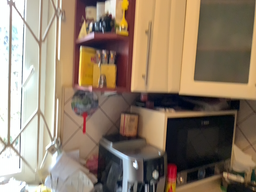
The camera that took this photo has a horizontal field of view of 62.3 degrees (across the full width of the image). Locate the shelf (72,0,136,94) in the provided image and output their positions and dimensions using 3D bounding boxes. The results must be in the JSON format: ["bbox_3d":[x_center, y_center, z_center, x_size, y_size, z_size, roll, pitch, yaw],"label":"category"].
[{"bbox_3d":[-0.110,-0.490,0.970,0.150,0.940,0.300,0,6,-35],"label":"shelf"}]
